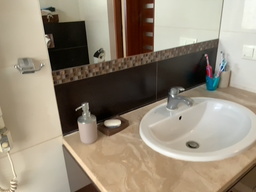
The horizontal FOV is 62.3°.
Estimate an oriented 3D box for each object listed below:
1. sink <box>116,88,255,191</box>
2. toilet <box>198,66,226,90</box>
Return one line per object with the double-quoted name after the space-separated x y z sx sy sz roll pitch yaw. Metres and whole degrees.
0.330 0.170 1.010 0.610 0.150 0.470 -18 28 -33 "sink"
0.540 -0.120 1.360 0.130 0.110 0.100 -18 28 -33 "toilet"
